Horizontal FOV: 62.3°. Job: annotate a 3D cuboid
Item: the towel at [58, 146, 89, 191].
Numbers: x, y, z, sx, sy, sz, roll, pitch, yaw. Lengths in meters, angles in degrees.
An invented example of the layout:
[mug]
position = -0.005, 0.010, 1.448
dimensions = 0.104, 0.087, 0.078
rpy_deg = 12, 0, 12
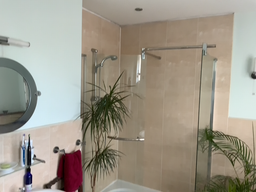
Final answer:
[towel]
position = -0.510, 0.700, 1.990
dimensions = 0.160, 0.380, 0.240
rpy_deg = 4, 5, 30

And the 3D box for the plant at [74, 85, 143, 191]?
[plant]
position = -0.200, 0.610, 2.500
dimensions = 0.390, 1.460, 0.790
rpy_deg = 4, 5, 30
